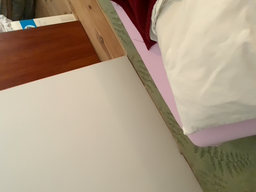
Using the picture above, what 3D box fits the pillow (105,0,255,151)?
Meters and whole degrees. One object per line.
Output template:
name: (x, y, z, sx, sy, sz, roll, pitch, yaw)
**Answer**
pillow: (0.170, -0.100, 0.470, 0.340, 0.150, 0.490, 62, 147, 8)
